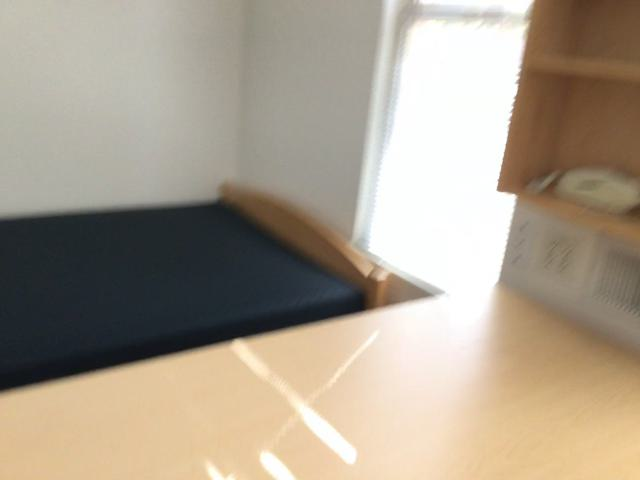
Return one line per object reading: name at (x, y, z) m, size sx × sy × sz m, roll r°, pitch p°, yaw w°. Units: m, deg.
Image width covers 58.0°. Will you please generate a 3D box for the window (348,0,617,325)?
window at (0.490, -0.680, 1.880) m, size 0.260 × 1.690 × 0.820 m, roll -6°, pitch 18°, yaw -31°
